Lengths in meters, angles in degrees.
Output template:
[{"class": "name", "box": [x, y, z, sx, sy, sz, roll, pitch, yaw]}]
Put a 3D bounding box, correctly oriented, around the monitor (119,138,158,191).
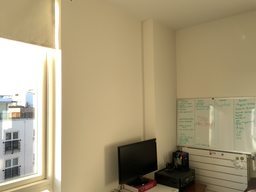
[{"class": "monitor", "box": [0.120, 0.670, 2.120, 0.050, 0.430, 0.530, -4, -4, 43]}]
